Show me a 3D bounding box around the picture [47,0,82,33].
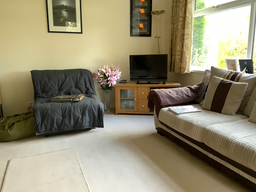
[{"bbox_3d":[-1.050,-1.400,3.530,0.540,0.670,0.030,-6,13,-24],"label":"picture"}]

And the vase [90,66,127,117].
[{"bbox_3d":[-0.350,-0.110,3.800,0.510,0.790,0.530,-5,13,-21],"label":"vase"}]

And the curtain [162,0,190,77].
[{"bbox_3d":[0.840,-1.160,3.750,0.240,1.590,0.430,-5,13,-20],"label":"curtain"}]

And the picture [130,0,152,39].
[{"bbox_3d":[0.250,-1.570,4.060,0.450,0.900,0.040,-4,13,-18],"label":"picture"}]
